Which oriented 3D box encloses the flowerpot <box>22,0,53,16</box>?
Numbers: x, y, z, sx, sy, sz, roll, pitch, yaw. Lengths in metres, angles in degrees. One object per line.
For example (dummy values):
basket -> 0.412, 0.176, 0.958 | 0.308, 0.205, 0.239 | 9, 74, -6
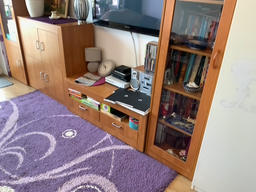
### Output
flowerpot -> -1.160, -1.220, 2.700 | 0.270, 0.330, 0.250 | 20, 31, 29
